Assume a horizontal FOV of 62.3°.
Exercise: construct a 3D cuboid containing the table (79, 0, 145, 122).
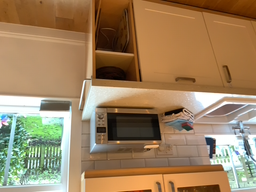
[{"bbox_3d":[-0.180,-0.330,1.630,0.330,0.900,0.620,2,155,-17],"label":"table"}]
